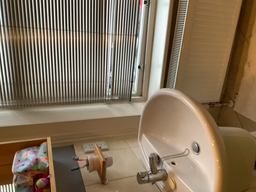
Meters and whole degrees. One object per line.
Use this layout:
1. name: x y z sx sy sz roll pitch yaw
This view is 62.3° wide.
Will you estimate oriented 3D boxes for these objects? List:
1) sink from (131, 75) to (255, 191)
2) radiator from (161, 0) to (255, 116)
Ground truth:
1. sink: 0.250 0.210 0.990 0.630 0.200 0.470 -139 50 -60
2. radiator: 0.540 -0.300 1.340 0.160 0.520 0.830 -137 49 -59
